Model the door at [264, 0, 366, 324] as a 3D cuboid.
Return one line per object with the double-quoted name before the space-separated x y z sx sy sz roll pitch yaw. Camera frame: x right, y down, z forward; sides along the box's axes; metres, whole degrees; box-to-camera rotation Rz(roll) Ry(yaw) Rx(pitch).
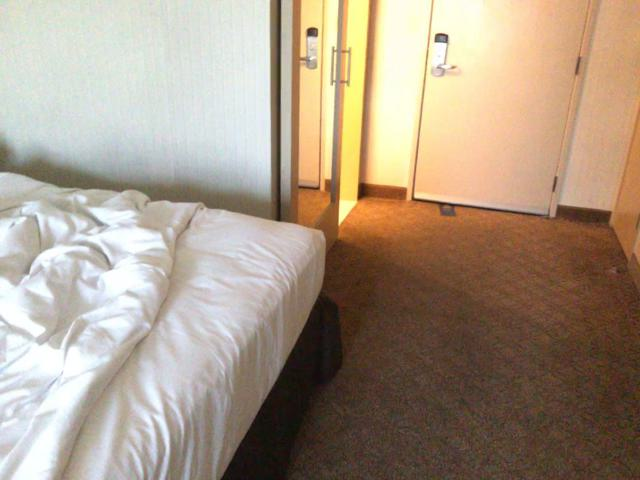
"door" 0.010 -0.770 2.670 0.170 2.080 0.980 7 22 15
